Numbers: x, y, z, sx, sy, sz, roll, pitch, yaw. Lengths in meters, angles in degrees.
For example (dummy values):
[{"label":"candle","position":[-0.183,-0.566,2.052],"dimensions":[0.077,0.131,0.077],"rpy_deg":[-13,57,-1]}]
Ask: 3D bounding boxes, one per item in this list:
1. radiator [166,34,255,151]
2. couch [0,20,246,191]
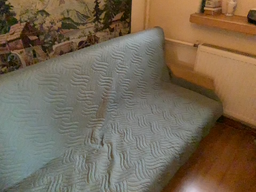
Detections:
[{"label":"radiator","position":[0.870,-0.060,2.040],"dimensions":[0.950,0.830,0.200],"rpy_deg":[26,41,33]},{"label":"couch","position":[-0.120,0.220,1.470],"dimensions":[0.890,0.940,2.100],"rpy_deg":[26,41,33]}]
